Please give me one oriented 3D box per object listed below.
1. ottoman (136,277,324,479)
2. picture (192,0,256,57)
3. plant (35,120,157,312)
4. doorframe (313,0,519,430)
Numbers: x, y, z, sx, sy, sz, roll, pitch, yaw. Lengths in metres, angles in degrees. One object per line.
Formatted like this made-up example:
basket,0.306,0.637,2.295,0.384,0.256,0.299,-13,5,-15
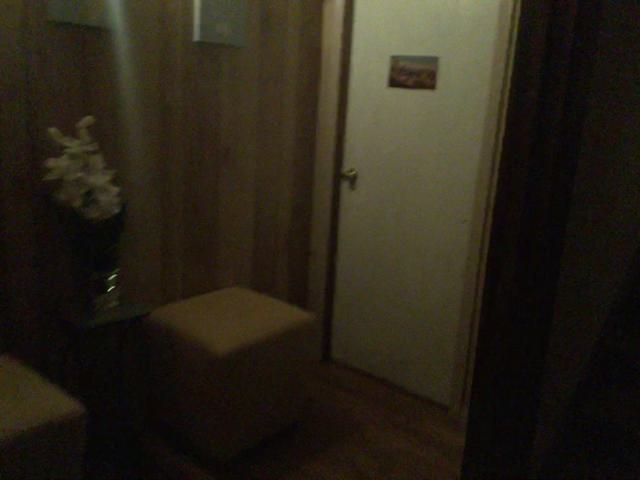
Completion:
ottoman,-0.360,0.540,2.410,0.540,0.580,0.530,10,16,39
picture,-0.380,-0.890,2.310,0.040,0.280,0.290,10,16,39
plant,-0.760,-0.100,1.990,0.180,0.610,0.290,10,16,39
doorframe,0.370,-0.270,2.610,0.920,2.090,0.130,10,16,39
